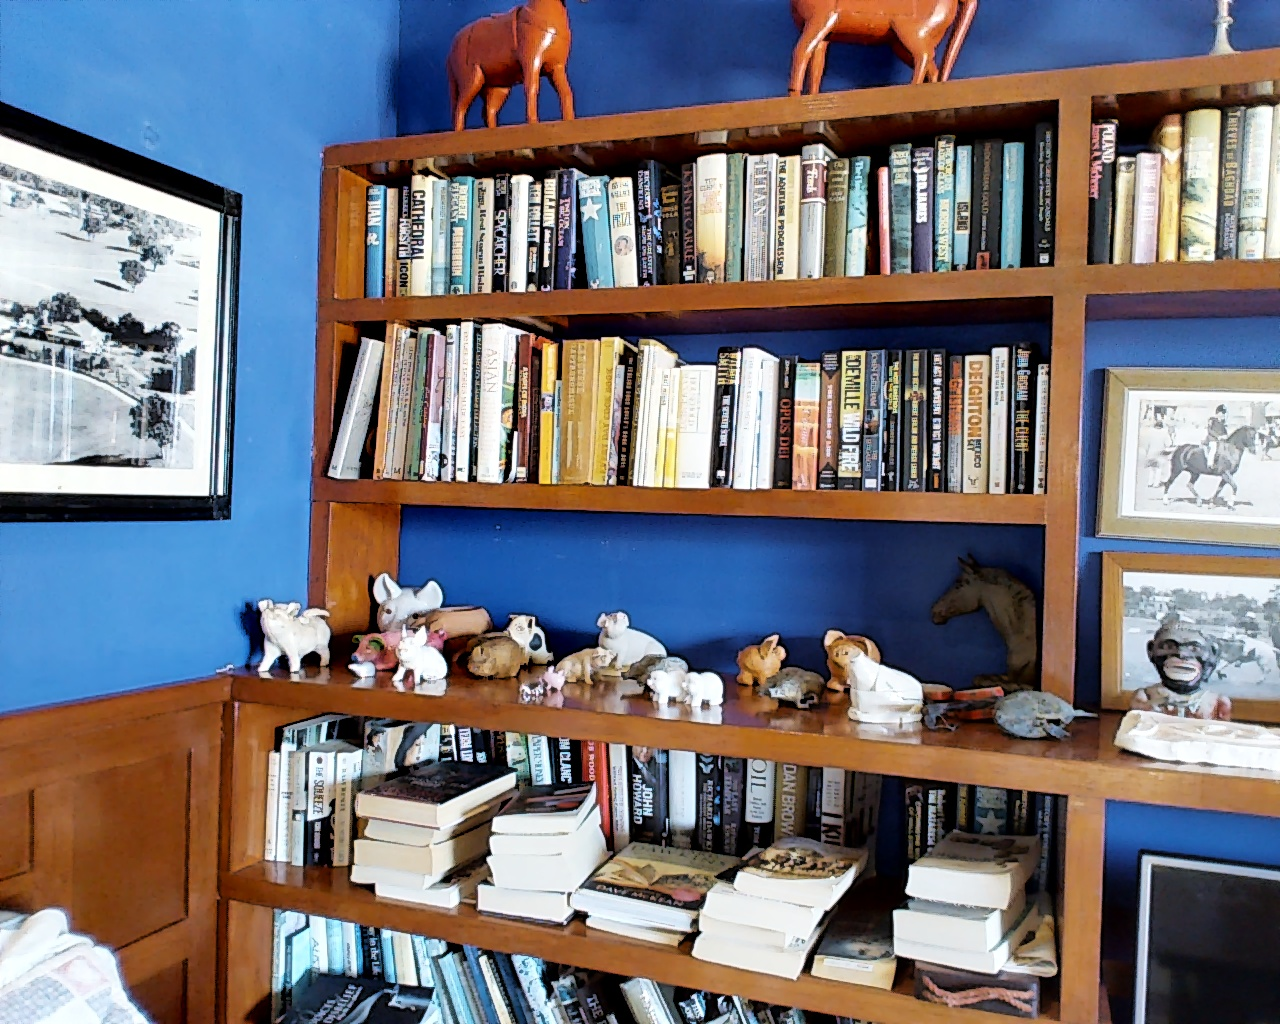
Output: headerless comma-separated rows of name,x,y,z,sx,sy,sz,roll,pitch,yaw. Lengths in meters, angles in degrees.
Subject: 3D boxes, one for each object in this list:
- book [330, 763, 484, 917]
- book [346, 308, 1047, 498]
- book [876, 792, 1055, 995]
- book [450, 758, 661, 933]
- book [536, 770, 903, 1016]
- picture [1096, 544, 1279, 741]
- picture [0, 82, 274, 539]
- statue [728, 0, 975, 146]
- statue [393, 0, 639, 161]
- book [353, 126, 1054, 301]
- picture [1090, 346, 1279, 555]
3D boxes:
book,-0.380,0.530,1.760,0.210,0.190,0.120,2,0,19
book,0.040,-0.180,1.840,1.220,0.280,0.080,2,0,20
book,0.490,0.540,1.580,0.220,0.140,0.380,2,0,21
book,-0.130,0.540,1.790,0.240,0.170,0.310,2,0,19
book,0.130,0.560,1.650,0.500,0.210,0.280,2,0,19
picture,0.920,0.200,1.690,0.360,0.280,0.140,2,0,21
picture,-0.810,-0.260,1.510,0.040,0.590,0.810,2,0,21
statue,0.370,-0.860,1.840,0.370,0.350,0.260,2,0,21
statue,-0.230,-0.880,2.050,0.380,0.310,0.260,2,0,21
book,0.070,-0.510,1.910,1.230,0.210,0.140,2,0,17
picture,0.940,-0.100,1.740,0.380,0.330,0.030,2,0,21
